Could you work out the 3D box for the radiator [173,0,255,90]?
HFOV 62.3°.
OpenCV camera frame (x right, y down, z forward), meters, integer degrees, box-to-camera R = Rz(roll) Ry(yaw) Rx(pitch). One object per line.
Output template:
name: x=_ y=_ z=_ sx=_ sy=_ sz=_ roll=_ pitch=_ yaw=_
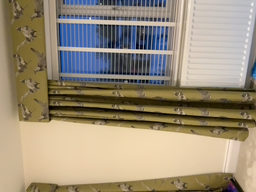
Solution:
radiator: x=0.800 y=-0.660 z=1.850 sx=0.110 sy=0.680 sz=1.200 roll=-85 pitch=-2 yaw=-74
